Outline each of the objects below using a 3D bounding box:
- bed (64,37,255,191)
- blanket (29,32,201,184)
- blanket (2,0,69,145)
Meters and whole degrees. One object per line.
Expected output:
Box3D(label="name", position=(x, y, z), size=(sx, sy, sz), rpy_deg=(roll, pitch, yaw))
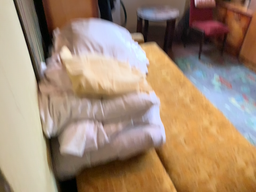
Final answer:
Box3D(label="bed", position=(0.080, 0.140, 1.780), size=(1.070, 0.430, 2.190), rpy_deg=(-8, 37, -14))
Box3D(label="blanket", position=(-0.140, -0.020, 1.330), size=(0.750, 0.440, 0.790), rpy_deg=(-9, 38, -15))
Box3D(label="blanket", position=(-0.670, -0.520, 1.590), size=(0.150, 1.090, 1.370), rpy_deg=(-10, 38, -16))
